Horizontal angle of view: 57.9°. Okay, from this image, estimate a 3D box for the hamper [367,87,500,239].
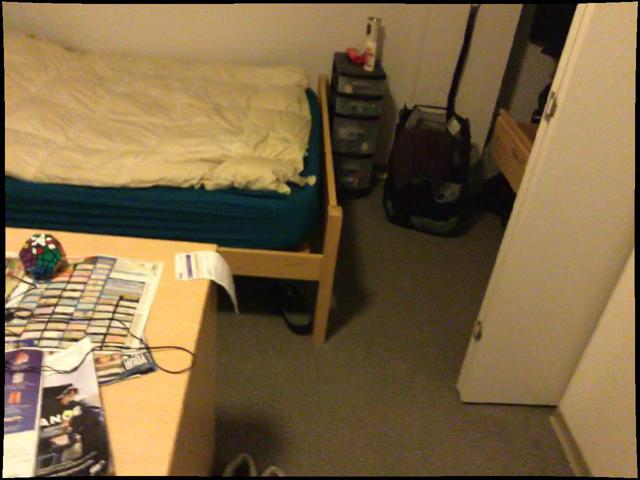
[{"bbox_3d":[0.519,-0.390,2.860,0.440,0.510,0.570,4,34,-6],"label":"hamper"}]
